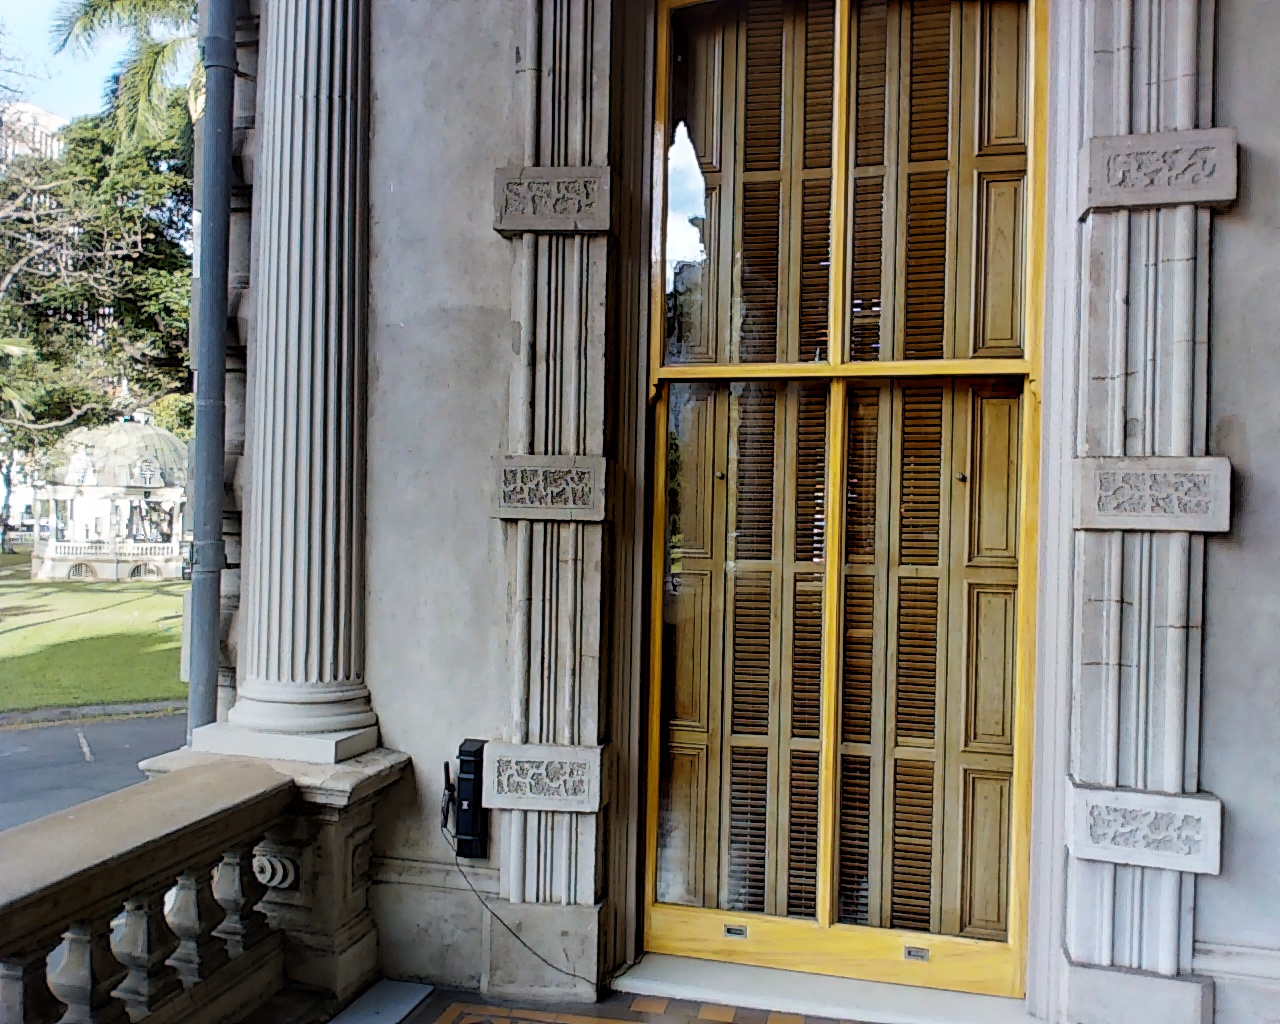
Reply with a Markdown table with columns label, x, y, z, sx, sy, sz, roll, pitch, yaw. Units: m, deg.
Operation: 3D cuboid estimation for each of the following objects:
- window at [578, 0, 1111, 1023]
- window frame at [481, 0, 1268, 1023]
| label | x | y | z | sx | sy | sz | roll | pitch | yaw |
| --- | --- | --- | --- | --- | --- | --- | --- | --- | --- |
| window | 0.610 | -0.190 | 3.400 | 1.500 | 3.450 | 0.370 | 2 | 1 | 15 |
| window frame | 0.640 | -0.330 | 3.380 | 2.220 | 3.680 | 0.370 | 2 | 1 | 15 |
